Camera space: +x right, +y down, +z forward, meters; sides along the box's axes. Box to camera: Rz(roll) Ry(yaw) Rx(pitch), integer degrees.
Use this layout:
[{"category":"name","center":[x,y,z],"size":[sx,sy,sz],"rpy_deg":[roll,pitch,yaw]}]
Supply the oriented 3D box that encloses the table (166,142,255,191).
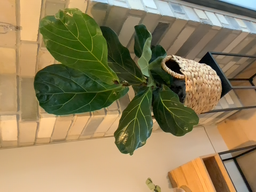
[{"category":"table","center":[0.610,0.540,1.230],"size":[0.310,0.600,0.410],"rpy_deg":[-55,44,48]}]

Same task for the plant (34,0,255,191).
[{"category":"plant","center":[0.050,-0.020,0.880],"size":[0.460,0.770,0.520],"rpy_deg":[13,102,61]}]

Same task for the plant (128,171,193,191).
[{"category":"plant","center":[0.190,0.550,1.130],"size":[0.140,0.300,0.210],"rpy_deg":[-55,44,47]}]
